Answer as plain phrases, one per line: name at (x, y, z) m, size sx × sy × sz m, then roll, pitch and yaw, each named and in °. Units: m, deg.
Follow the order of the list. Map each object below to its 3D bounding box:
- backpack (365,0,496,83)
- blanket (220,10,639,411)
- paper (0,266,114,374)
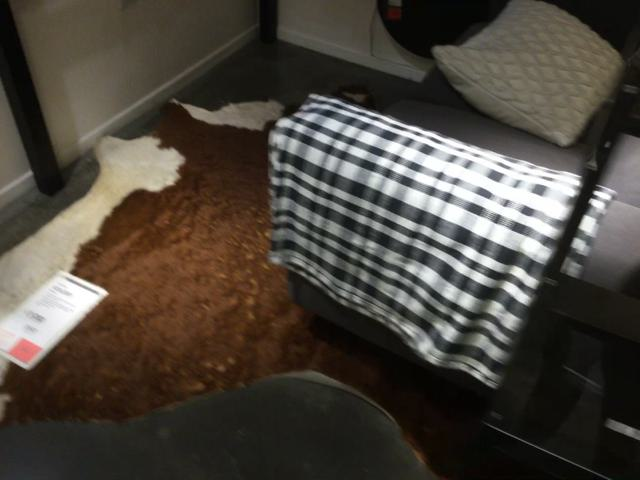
backpack at (0.440, -0.910, 2.340) m, size 0.470 × 0.400 × 0.150 m, roll 23°, pitch 48°, yaw 21°
blanket at (0.260, -0.130, 1.240) m, size 0.630 × 0.360 × 0.660 m, roll 23°, pitch 48°, yaw 21°
paper at (-0.750, 0.210, 1.600) m, size 0.190 × 0.030 × 0.300 m, roll 19°, pitch 47°, yaw 18°
